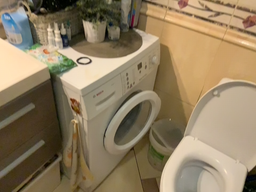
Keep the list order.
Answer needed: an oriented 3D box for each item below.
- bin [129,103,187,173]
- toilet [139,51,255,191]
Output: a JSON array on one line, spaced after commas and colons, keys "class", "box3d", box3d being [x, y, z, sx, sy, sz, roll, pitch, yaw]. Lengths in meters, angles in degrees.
[{"class": "bin", "box3d": [0.200, 0.290, 1.490, 0.250, 0.320, 0.270, 29, 46, 24]}, {"class": "toilet", "box3d": [0.390, 0.330, 1.070, 0.380, 0.830, 0.650, 28, 46, 22]}]
